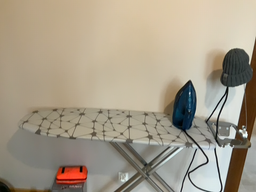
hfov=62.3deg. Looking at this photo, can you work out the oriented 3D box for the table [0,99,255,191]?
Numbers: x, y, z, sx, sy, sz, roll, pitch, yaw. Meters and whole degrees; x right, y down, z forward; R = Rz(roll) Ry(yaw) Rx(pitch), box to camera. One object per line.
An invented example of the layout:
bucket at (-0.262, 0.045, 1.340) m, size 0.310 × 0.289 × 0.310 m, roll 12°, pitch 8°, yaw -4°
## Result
table at (-0.070, 0.540, 1.470) m, size 1.440 × 0.870 × 0.460 m, roll 3°, pitch 21°, yaw 3°
